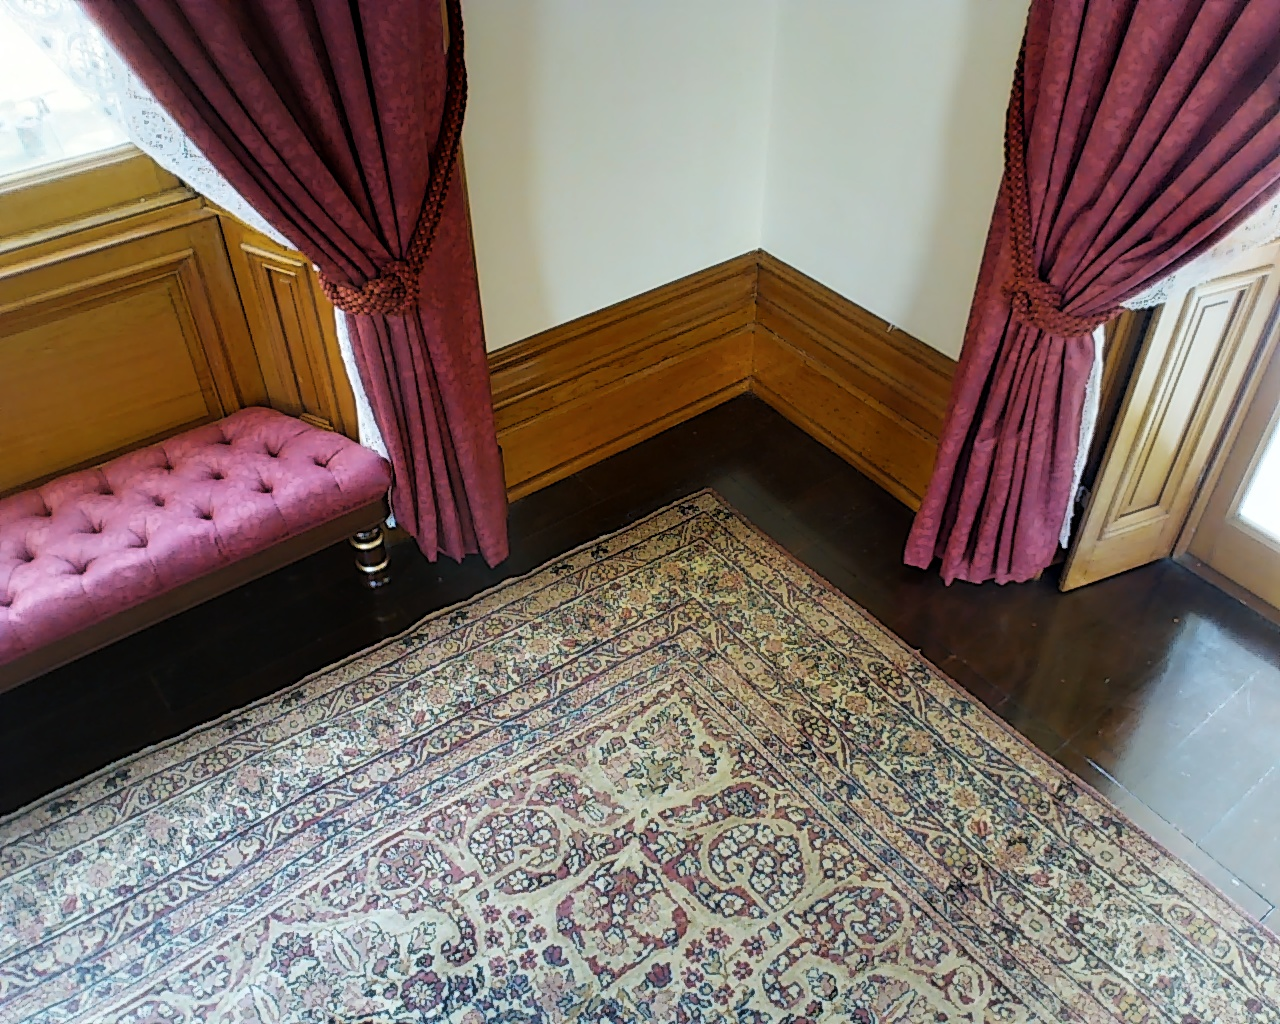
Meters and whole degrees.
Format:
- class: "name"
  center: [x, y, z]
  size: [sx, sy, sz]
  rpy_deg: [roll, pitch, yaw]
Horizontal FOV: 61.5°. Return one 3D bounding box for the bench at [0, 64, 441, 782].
- class: "bench"
  center: [-1.160, -0.050, 1.750]
  size: [1.480, 0.890, 0.520]
  rpy_deg: [-25, 48, -25]
